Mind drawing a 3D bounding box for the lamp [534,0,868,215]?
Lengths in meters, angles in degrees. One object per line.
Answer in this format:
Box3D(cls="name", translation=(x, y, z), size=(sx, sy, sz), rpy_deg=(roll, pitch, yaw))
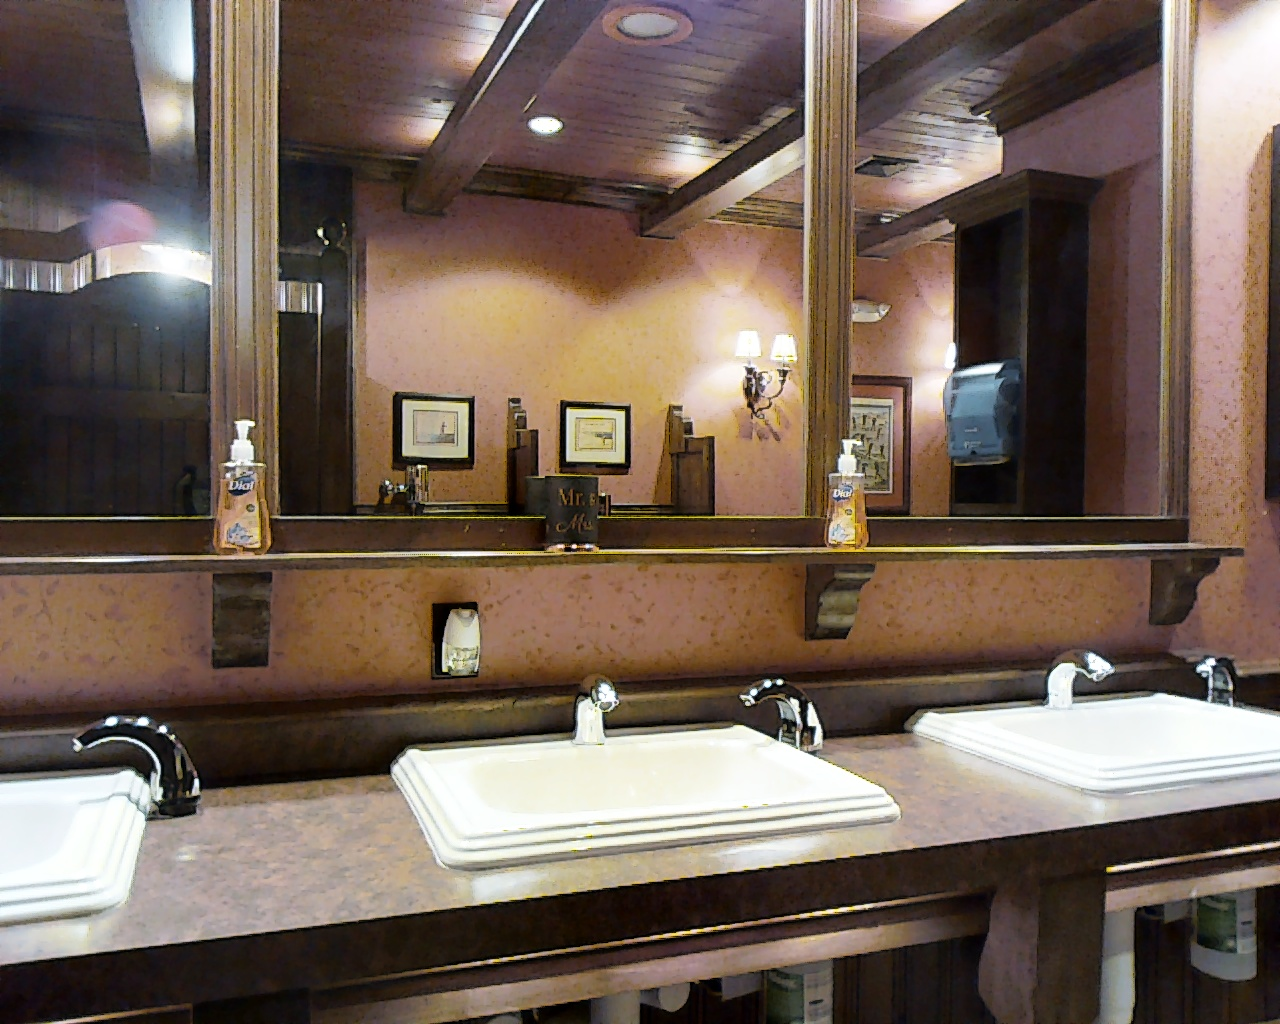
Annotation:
Box3D(cls="lamp", translation=(0.110, -1.690, 4.290), size=(0.250, 0.270, 2.950), rpy_deg=(0, 1, -22))
